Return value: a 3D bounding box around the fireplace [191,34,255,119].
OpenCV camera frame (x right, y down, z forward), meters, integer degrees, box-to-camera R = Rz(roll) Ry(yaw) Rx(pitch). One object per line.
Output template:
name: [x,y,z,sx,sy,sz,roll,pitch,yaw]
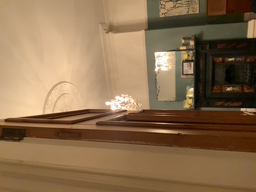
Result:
fireplace: [1.840,-0.380,4.120,0.710,1.160,1.450,-54,-39,-65]
